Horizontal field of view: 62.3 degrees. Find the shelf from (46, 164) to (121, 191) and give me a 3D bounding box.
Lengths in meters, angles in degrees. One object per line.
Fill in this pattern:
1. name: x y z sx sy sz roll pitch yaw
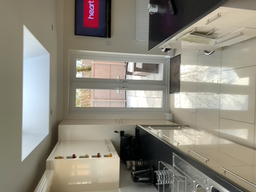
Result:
1. shelf: -0.490 0.930 2.400 0.220 0.800 0.200 -169 80 -78
